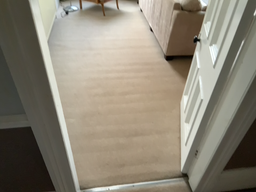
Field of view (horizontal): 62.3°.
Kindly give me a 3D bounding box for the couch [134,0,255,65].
[{"bbox_3d":[0.810,-1.490,3.380,1.050,0.820,2.330,-2,41,-7],"label":"couch"}]
